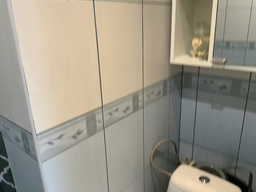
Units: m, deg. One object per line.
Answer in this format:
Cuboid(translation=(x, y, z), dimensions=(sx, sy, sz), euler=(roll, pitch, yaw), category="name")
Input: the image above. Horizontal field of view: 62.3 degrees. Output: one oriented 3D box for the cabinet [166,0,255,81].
Cuboid(translation=(0.490, -0.400, 0.830), dimensions=(0.630, 0.640, 0.190), euler=(14, 25, 36), category="cabinet")
